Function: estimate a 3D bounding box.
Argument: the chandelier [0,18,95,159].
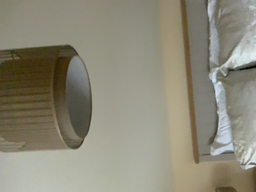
[{"bbox_3d":[-0.290,0.010,0.670,0.340,0.290,0.330,76,9,-79],"label":"chandelier"}]
